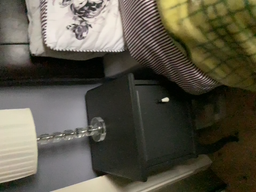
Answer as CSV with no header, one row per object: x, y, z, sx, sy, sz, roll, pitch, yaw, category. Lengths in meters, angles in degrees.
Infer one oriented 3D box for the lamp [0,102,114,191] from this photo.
-0.330,0.180,0.870,0.220,0.470,0.250,-14,83,53,lamp
